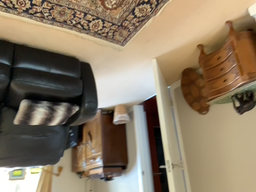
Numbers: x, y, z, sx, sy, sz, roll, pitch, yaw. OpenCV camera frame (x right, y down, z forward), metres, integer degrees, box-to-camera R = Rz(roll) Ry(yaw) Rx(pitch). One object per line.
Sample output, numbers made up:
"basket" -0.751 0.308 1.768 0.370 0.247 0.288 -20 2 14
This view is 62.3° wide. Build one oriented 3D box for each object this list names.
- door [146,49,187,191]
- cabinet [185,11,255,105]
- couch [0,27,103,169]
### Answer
"door" 0.480 0.600 2.330 0.070 2.080 0.880 -12 158 18
"cabinet" 0.930 -0.300 1.950 0.430 0.580 0.540 10 155 -34
"couch" -1.190 0.120 1.990 1.510 1.010 1.090 9 155 -34
